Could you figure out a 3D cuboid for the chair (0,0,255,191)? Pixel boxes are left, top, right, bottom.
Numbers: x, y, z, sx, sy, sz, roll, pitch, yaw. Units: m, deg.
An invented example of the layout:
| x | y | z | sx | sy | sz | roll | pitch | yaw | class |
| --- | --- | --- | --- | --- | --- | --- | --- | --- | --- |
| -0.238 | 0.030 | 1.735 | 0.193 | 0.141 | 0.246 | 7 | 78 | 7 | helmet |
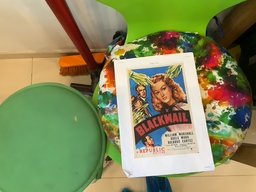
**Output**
| x | y | z | sx | sy | sz | roll | pitch | yaw | class |
| --- | --- | --- | --- | --- | --- | --- | --- | --- | --- |
| 0.110 | -0.040 | 0.620 | 0.440 | 0.880 | 0.500 | 0 | 81 | 1 | chair |
